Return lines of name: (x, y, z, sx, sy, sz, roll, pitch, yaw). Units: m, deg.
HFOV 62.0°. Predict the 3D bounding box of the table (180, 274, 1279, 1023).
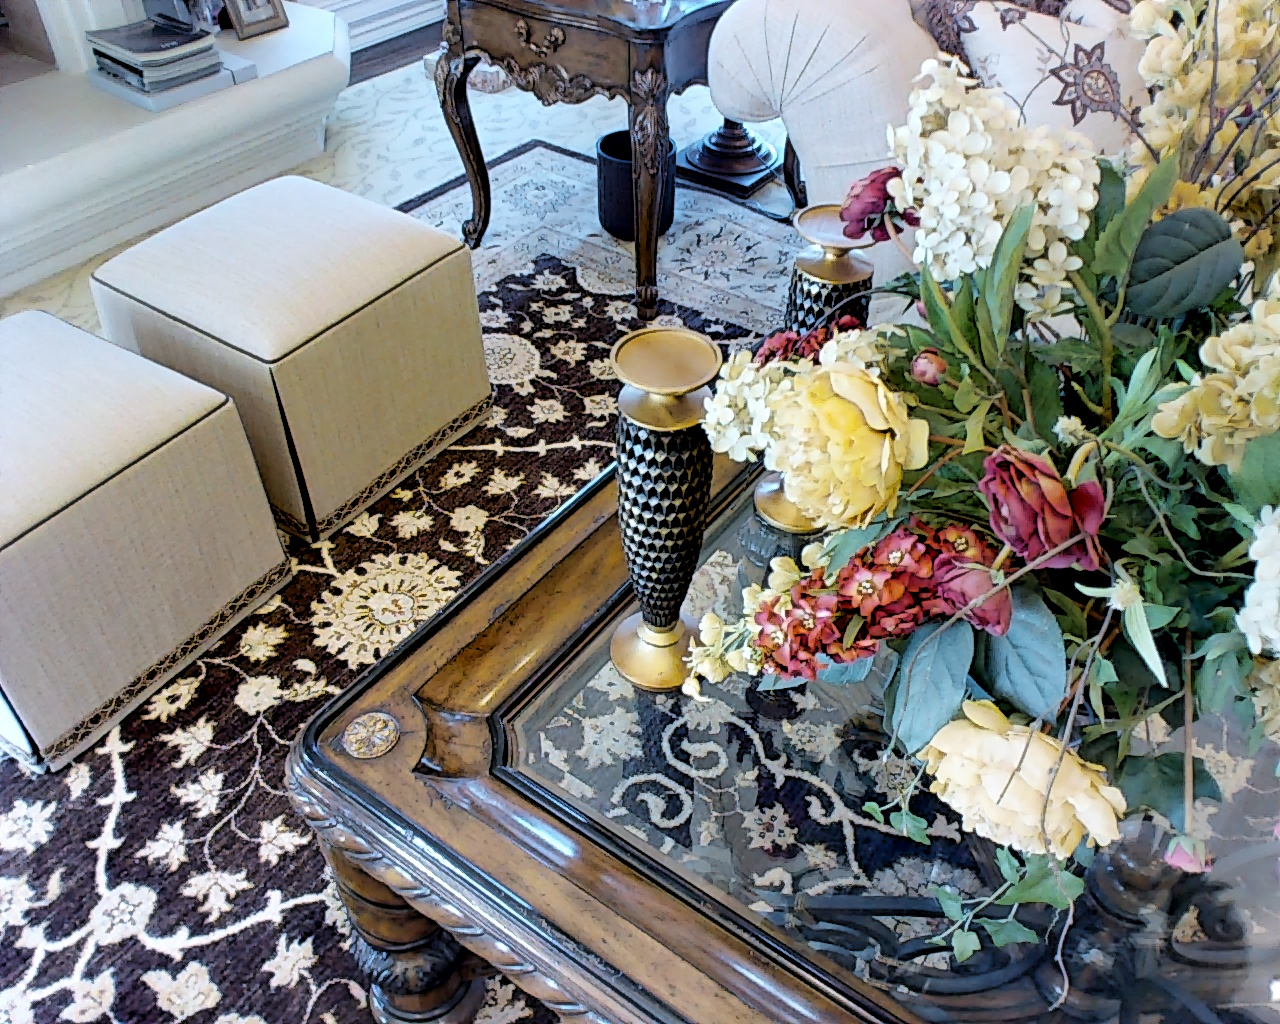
table: (0.550, 0.450, 1.230, 1.620, 0.570, 1.150, 25, 47, 25)
